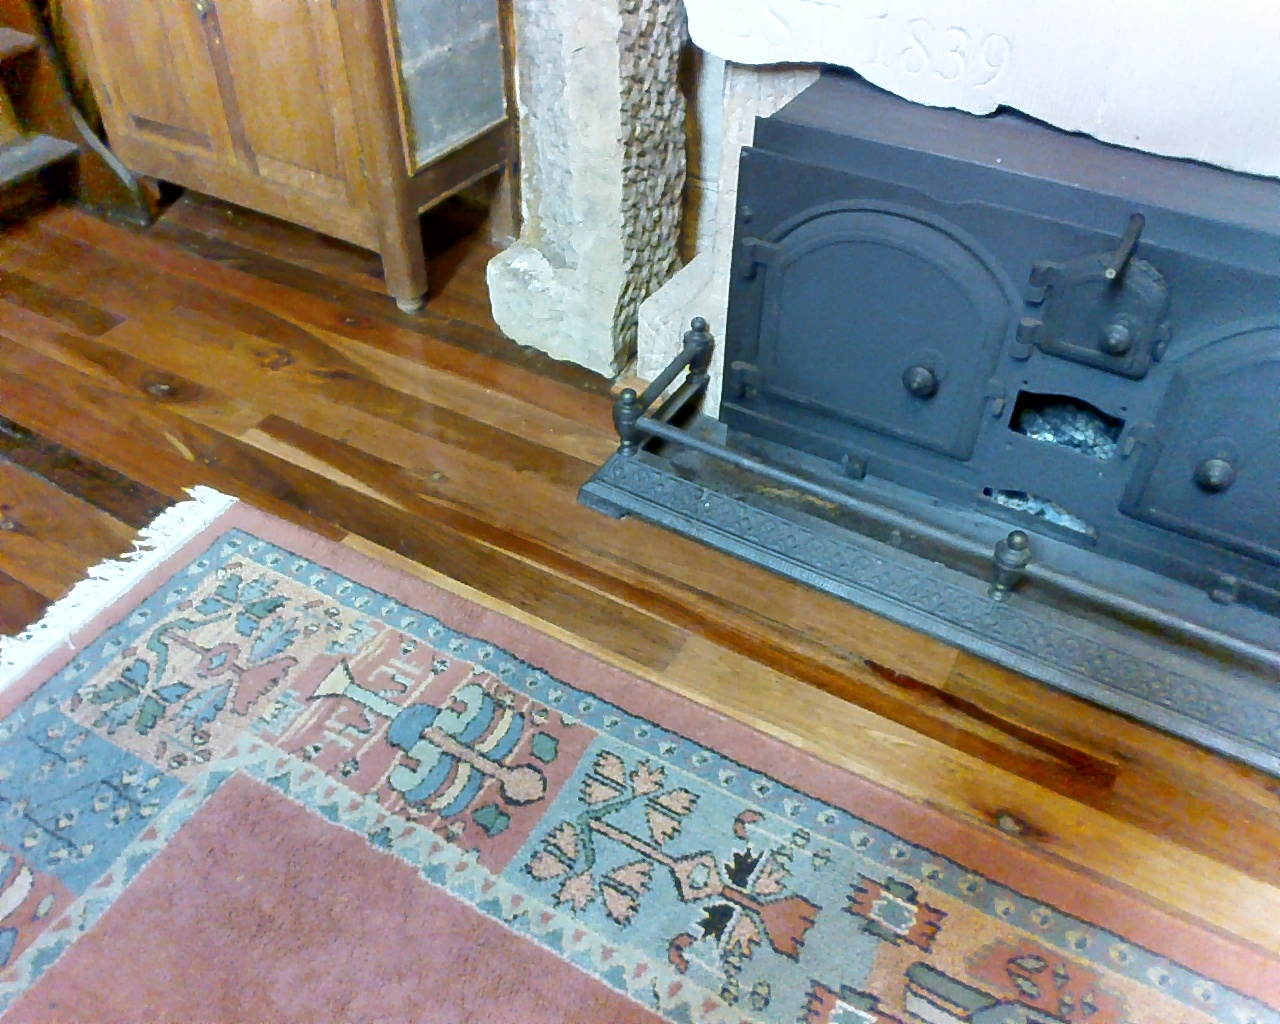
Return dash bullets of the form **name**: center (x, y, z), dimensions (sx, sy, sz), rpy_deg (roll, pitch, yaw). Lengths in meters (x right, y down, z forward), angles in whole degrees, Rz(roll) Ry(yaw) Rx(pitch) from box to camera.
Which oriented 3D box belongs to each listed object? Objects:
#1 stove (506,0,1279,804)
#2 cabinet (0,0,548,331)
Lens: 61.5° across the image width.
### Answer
- **stove**: center (0.650, -0.320, 1.390), dimensions (1.440, 0.950, 0.710), rpy_deg (21, 46, 22)
- **cabinet**: center (-0.810, -0.980, 2.170), dimensions (1.170, 0.850, 0.400), rpy_deg (21, 46, 22)
